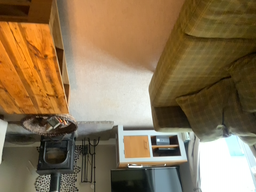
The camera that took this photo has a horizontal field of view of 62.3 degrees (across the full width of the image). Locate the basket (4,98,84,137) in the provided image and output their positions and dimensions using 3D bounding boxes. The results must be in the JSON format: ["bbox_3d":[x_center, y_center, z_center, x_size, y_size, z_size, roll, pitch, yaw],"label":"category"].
[{"bbox_3d":[-1.040,0.310,2.790,0.740,0.180,0.720,-6,152,3],"label":"basket"}]

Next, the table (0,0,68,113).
[{"bbox_3d":[-0.780,-0.270,1.580,0.560,0.360,1.120,2,151,-11],"label":"table"}]

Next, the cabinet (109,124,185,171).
[{"bbox_3d":[0.270,0.880,3.600,1.100,0.600,0.660,1,151,-11],"label":"cabinet"}]
